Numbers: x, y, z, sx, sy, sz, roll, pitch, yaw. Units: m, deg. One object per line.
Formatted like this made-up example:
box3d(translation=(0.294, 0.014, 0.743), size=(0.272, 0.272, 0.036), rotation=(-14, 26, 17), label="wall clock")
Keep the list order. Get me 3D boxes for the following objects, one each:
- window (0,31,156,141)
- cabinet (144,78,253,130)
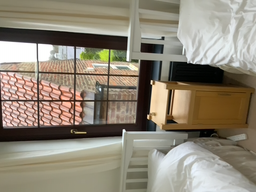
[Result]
box3d(translation=(-0.530, -0.060, 2.080), size=(0.080, 1.590, 0.980), rotation=(-142, 55, -70), label="window")
box3d(translation=(0.610, 0.060, 1.890), size=(0.340, 0.840, 0.370), rotation=(-146, 59, -71), label="cabinet")
